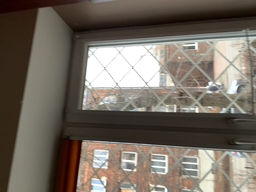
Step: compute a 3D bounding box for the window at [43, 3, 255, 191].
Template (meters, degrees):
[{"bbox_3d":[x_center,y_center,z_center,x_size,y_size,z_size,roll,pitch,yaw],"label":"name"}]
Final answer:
[{"bbox_3d":[0.350,0.420,1.080,0.190,1.630,1.840,45,-133,-69],"label":"window"}]
